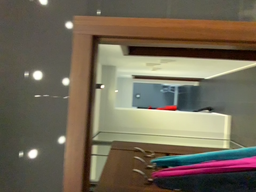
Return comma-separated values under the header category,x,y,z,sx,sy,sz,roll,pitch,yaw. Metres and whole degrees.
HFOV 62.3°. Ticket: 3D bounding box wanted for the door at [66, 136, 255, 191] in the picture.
category,x,y,z,sx,sy,sz,roll,pitch,yaw
door,0.790,0.520,1.360,0.950,2.170,0.080,-69,-19,-81
